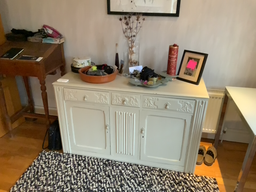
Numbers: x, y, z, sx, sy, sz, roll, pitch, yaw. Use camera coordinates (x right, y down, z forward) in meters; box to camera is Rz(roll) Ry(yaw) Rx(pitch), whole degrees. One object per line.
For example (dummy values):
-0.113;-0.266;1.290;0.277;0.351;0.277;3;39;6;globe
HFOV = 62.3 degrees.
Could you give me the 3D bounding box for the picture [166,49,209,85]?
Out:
0.550;-0.280;1.990;0.320;0.240;0.180;23;34;38;picture
